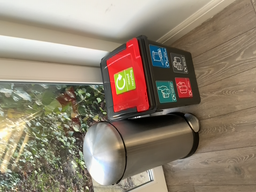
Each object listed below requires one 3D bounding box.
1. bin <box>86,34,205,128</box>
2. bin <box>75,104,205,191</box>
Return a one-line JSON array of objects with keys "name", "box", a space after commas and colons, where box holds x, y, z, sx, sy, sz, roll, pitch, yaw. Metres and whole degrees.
[{"name": "bin", "box": [0.100, -0.060, 1.290, 0.430, 0.490, 0.360, -27, 72, 44]}, {"name": "bin", "box": [0.090, 0.270, 1.220, 0.340, 0.630, 0.330, -26, 72, 44]}]
